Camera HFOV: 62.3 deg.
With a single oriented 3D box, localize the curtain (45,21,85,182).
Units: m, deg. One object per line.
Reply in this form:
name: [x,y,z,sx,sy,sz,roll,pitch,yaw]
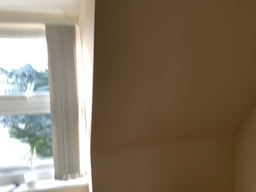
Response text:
curtain: [-0.480,0.050,1.650,0.240,1.220,0.060,-2,5,-12]
